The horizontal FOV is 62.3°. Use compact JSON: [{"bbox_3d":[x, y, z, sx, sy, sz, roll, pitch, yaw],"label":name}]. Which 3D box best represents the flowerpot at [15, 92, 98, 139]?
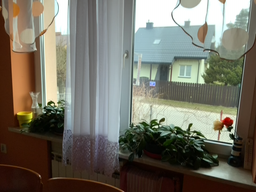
[{"bbox_3d":[-0.670,0.160,2.080,0.580,0.280,0.500,6,11,19],"label":"flowerpot"}]
